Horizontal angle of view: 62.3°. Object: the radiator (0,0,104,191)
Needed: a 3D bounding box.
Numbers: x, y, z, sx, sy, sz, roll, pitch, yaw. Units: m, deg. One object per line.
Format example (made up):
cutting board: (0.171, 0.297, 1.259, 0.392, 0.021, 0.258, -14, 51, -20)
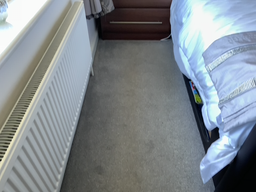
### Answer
radiator: (-0.320, 0.020, 1.000, 0.120, 0.590, 1.390, 3, 44, 4)
